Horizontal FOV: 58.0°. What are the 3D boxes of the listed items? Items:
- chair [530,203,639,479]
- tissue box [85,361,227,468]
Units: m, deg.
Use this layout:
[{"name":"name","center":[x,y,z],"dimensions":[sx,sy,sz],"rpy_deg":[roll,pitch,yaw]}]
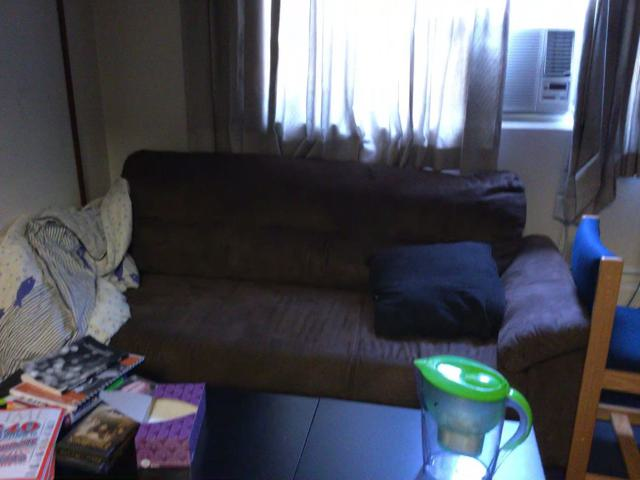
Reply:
[{"name":"chair","center":[1.170,0.350,1.910],"dimensions":[0.740,0.830,0.570],"rpy_deg":[3,13,10]},{"name":"tissue box","center":[-0.390,0.420,1.430],"dimensions":[0.240,0.110,0.270],"rpy_deg":[3,13,10]}]
